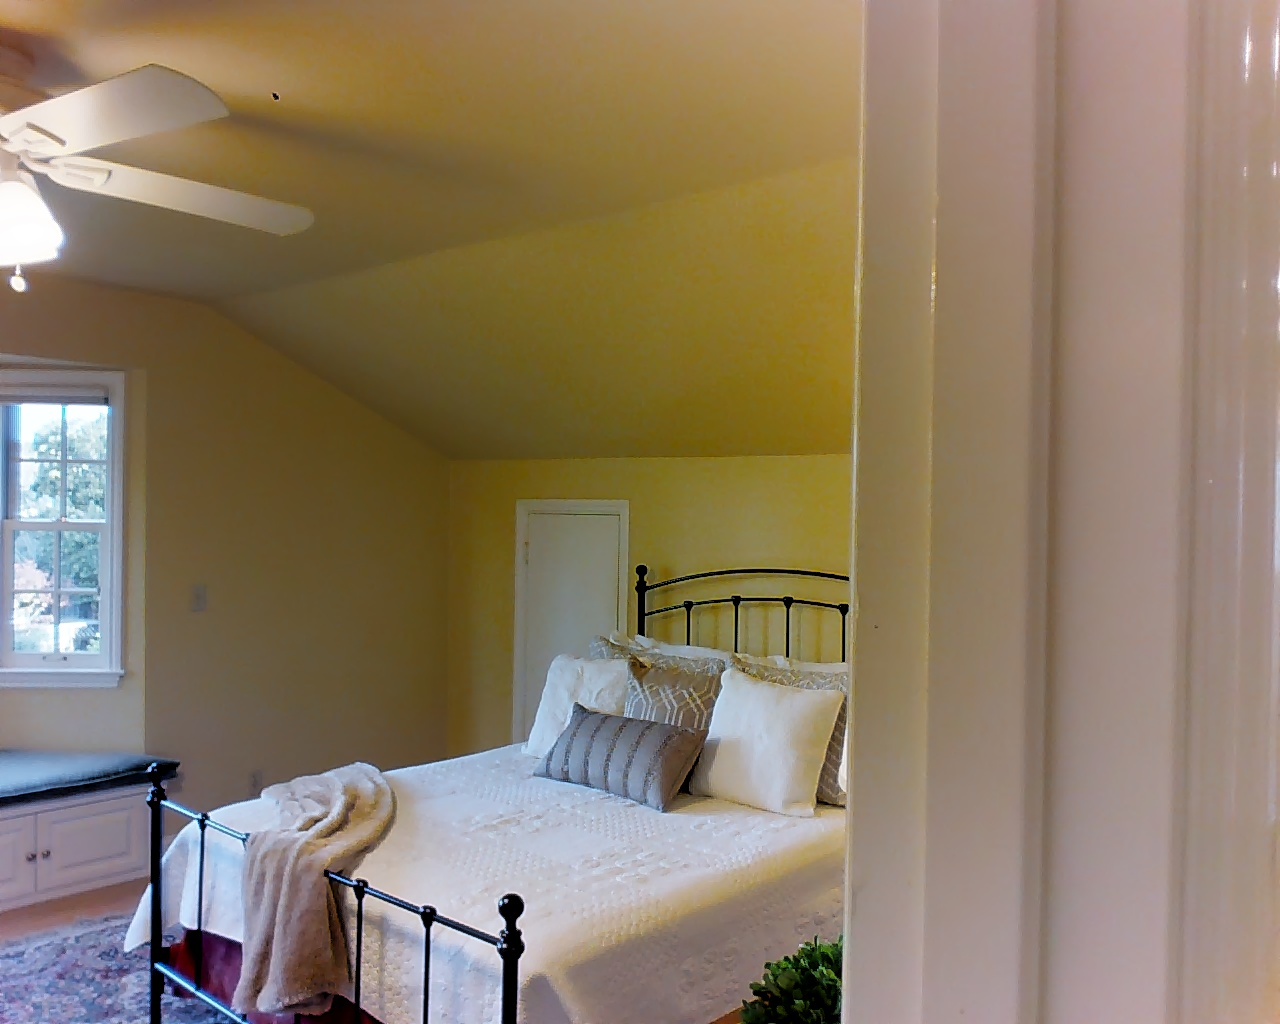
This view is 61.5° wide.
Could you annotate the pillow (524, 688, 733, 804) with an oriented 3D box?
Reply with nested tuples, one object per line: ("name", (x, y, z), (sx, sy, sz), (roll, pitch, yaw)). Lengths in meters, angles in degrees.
("pillow", (-0.050, 0.770, 3.580), (0.670, 0.240, 0.230), (1, -17, 41))

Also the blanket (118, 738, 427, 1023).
("blanket", (-0.950, 1.000, 3.070), (0.500, 0.410, 1.360), (1, 1, -4))

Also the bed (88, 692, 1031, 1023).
("bed", (-0.140, 1.200, 3.420), (1.860, 0.720, 2.350), (2, 1, 41))

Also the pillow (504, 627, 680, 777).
("pillow", (-0.180, 0.690, 3.970), (0.510, 0.430, 0.230), (1, -26, 41))
